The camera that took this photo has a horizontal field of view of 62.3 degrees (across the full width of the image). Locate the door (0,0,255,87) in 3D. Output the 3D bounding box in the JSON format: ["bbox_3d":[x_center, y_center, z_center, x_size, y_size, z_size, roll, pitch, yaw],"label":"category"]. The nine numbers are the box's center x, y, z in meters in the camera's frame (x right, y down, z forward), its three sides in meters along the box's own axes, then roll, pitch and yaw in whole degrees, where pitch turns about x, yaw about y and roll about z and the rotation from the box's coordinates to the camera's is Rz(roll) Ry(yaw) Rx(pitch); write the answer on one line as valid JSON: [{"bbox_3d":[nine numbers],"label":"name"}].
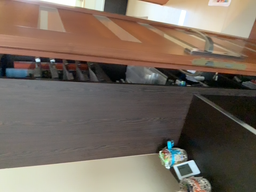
[{"bbox_3d":[0.200,-0.290,1.110,0.940,1.840,0.080,-126,43,-55],"label":"door"}]
